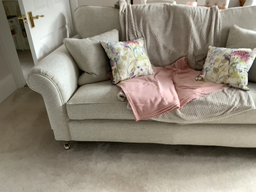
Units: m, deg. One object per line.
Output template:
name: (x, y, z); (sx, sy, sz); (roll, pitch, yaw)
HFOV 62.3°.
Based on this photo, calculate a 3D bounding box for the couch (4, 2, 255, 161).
couch: (0.380, -0.200, 1.810); (2.070, 0.960, 1.040); (0, 30, 3)
